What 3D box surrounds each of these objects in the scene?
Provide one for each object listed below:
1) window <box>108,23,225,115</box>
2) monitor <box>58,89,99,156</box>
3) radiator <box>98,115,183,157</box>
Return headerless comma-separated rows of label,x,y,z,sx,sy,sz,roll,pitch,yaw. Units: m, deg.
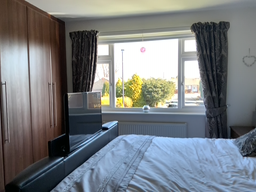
window,0.600,-0.410,3.610,1.900,1.410,0.220,0,3,15
monitor,-0.400,0.180,1.860,0.050,0.460,0.690,0,3,13
radiator,0.180,0.630,3.470,1.390,0.590,0.120,0,3,16
